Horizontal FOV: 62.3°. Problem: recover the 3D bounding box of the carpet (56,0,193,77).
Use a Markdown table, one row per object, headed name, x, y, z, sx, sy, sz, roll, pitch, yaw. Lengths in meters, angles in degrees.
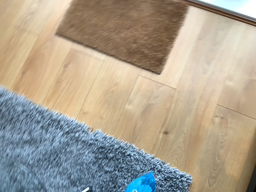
| name | x | y | z | sx | sy | sz | roll | pitch | yaw |
| --- | --- | --- | --- | --- | --- | --- | --- | --- | --- |
| carpet | -0.020 | -0.400 | 1.090 | 0.580 | 0.030 | 0.430 | 22 | 81 | 9 |
